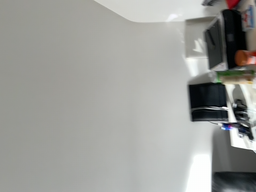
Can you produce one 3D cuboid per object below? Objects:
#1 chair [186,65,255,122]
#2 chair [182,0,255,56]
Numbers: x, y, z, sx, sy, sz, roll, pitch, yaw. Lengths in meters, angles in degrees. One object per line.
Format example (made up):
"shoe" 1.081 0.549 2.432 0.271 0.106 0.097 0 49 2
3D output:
"chair" 1.050 0.000 1.700 0.550 0.980 0.370 105 163 -82
"chair" 1.030 -0.600 1.790 0.530 0.980 0.350 110 159 -84
